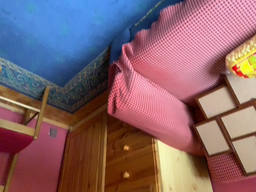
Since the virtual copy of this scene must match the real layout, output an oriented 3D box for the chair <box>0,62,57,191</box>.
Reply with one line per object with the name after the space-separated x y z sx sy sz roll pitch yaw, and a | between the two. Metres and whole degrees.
-0.960 0.290 1.620 0.460 0.840 0.530 27 135 -32 | chair
